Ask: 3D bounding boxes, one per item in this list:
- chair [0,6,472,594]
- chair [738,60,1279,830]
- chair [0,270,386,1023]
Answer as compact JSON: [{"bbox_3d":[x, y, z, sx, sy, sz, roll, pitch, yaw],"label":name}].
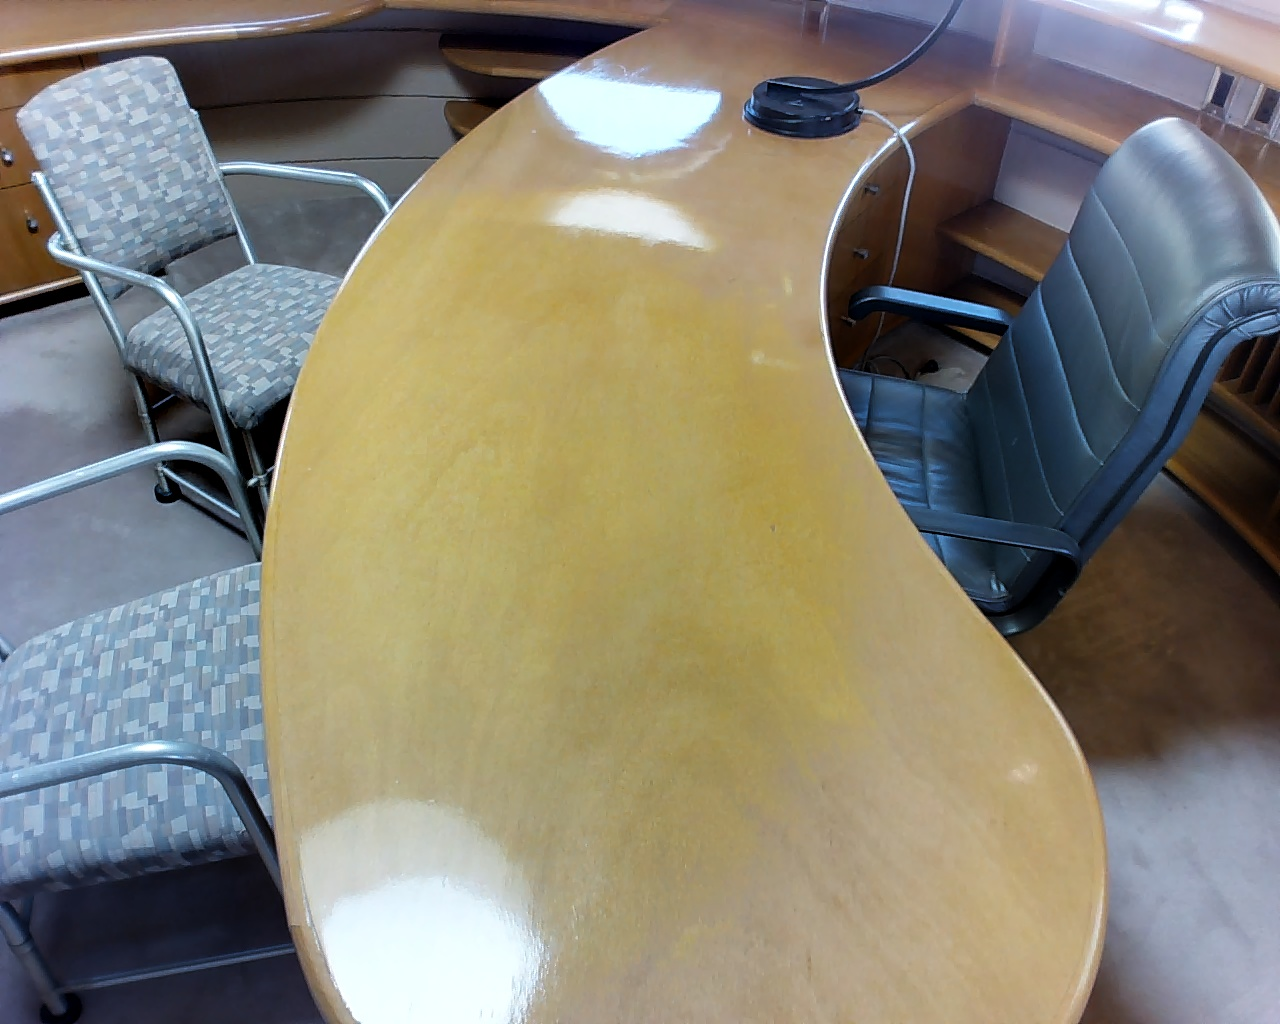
[{"bbox_3d":[-0.820,-0.440,2.200,0.630,0.870,0.610,22,46,21],"label":"chair"},{"bbox_3d":[0.530,-0.100,1.790,0.630,0.980,0.760,5,43,3],"label":"chair"},{"bbox_3d":[-0.750,0.260,1.430,0.630,0.880,0.630,-9,44,-12],"label":"chair"}]
